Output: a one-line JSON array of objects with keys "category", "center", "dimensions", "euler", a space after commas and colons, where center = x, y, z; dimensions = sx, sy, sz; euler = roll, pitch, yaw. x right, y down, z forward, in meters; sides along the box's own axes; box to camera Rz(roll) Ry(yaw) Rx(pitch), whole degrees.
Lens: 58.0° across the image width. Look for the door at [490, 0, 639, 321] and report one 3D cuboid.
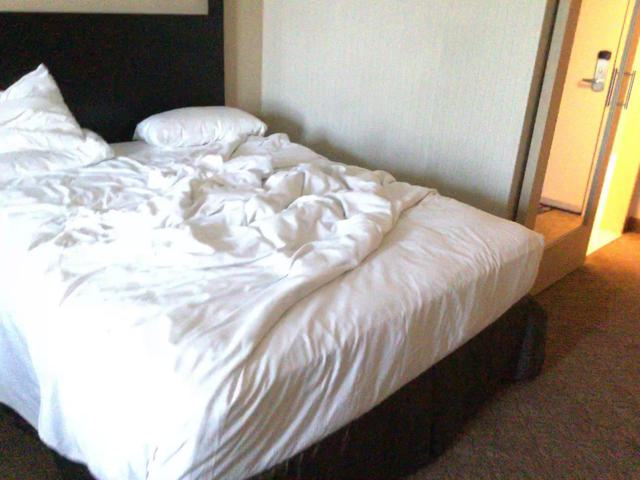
[{"category": "door", "center": [1.310, -0.600, 2.750], "dimensions": [0.180, 1.750, 1.130], "euler": [22, 29, 40]}]
